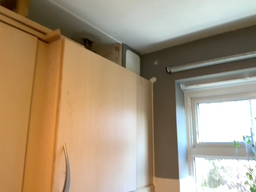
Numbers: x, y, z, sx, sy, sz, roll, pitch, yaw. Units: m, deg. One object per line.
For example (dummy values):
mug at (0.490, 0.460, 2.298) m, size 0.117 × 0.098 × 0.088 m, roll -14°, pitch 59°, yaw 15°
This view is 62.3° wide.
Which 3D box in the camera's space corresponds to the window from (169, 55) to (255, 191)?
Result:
window at (0.770, 0.340, 1.330) m, size 0.970 × 1.180 × 0.160 m, roll -7°, pitch -14°, yaw 32°
